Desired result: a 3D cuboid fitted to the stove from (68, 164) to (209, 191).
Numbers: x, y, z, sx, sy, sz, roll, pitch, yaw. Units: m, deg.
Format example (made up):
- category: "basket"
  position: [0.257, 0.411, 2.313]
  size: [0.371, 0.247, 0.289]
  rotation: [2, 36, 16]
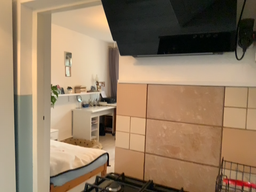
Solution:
- category: "stove"
  position: [0.020, 0.490, 0.950]
  size: [0.590, 0.050, 0.610]
  rotation: [4, 5, 26]
